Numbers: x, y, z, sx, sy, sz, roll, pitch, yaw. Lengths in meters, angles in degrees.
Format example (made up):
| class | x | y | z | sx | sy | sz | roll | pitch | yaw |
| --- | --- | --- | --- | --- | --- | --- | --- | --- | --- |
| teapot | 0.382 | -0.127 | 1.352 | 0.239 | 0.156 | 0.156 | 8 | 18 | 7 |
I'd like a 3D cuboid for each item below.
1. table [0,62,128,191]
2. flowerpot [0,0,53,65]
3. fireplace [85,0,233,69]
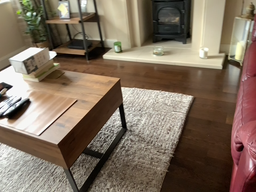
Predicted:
| class | x | y | z | sx | sy | sz | roll | pitch | yaw |
| --- | --- | --- | --- | --- | --- | --- | --- | --- | --- |
| table | -0.610 | 0.150 | 1.440 | 1.010 | 0.460 | 0.600 | 9 | 38 | 24 |
| flowerpot | -1.350 | -0.920 | 2.910 | 0.260 | 0.840 | 0.440 | -7 | 34 | 1 |
| fireplace | 0.420 | -1.200 | 2.460 | 1.470 | 1.280 | 1.080 | 9 | 38 | 24 |
